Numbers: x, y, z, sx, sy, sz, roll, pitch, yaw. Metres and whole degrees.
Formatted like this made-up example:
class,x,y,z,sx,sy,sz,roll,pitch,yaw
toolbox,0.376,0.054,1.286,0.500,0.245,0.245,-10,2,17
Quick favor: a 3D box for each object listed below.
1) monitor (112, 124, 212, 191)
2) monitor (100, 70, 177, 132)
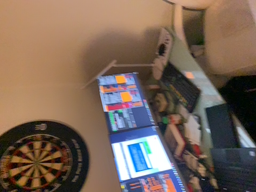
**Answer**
class,x,y,z,sx,sy,sz,roll,pitch,yaw
monitor,0.180,0.410,1.320,0.530,0.490,0.060,-105,18,-48
monitor,0.060,0.010,1.680,0.040,0.490,0.550,104,157,-50
